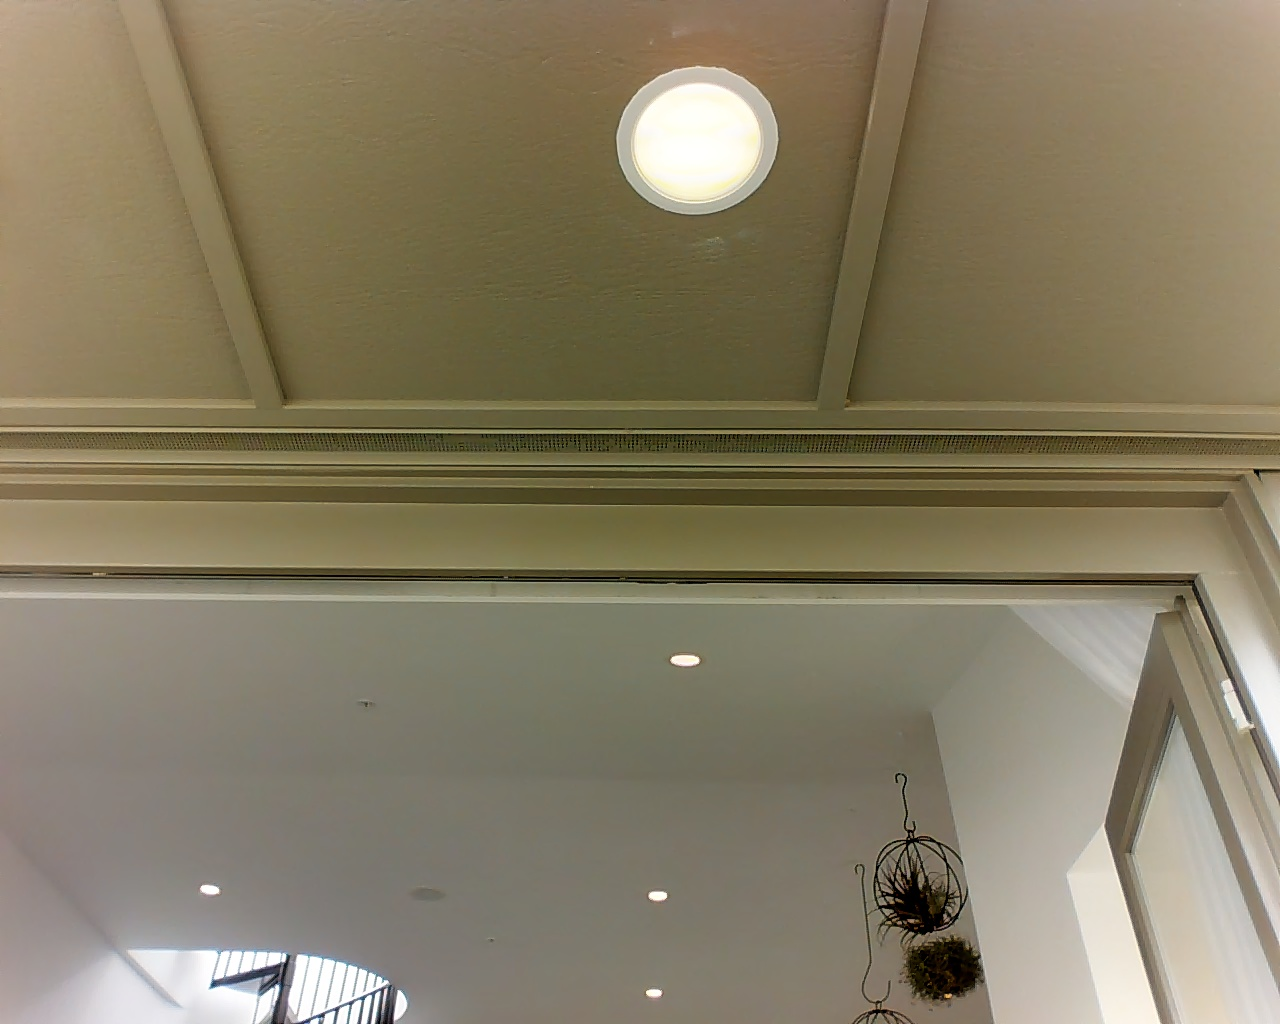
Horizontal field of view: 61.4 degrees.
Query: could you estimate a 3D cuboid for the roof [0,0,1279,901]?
[{"bbox_3d":[-0.650,-0.220,1.530,3.929,0.630,2.170,1,-42,0],"label":"roof"}]
